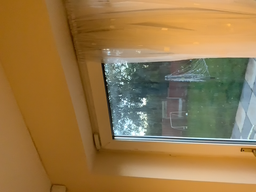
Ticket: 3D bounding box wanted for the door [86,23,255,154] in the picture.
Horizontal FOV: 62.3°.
[{"bbox_3d":[0.810,0.020,1.130,0.050,1.990,0.800,-77,-15,-56],"label":"door"}]
